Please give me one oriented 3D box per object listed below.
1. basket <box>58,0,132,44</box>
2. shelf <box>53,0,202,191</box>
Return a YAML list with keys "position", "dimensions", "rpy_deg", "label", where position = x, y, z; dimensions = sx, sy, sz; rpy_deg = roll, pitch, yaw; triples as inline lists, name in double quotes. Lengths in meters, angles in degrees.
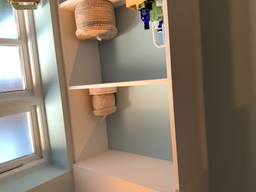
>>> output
- position: [-0.190, -0.450, 1.250]
  dimensions: [0.280, 0.220, 0.300]
  rpy_deg: [0, -173, 39]
  label: "basket"
- position: [-0.070, -0.680, 1.090]
  dimensions: [0.700, 2.150, 0.300]
  rpy_deg: [0, -172, 39]
  label: "shelf"
